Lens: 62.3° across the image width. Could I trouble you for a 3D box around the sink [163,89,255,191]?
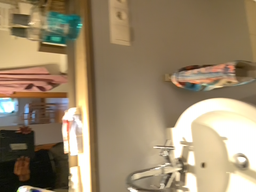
[{"bbox_3d":[0.370,0.230,0.720,0.450,0.210,0.450,-18,75,58],"label":"sink"}]
